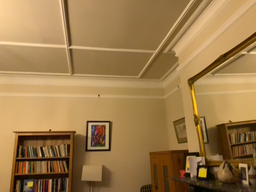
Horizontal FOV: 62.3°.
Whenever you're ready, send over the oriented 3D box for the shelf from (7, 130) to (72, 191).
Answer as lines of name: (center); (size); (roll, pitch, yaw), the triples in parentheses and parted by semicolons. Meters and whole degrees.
shelf: (-1.420, 1.550, 3.440); (0.900, 1.950, 0.320); (2, -16, -12)
